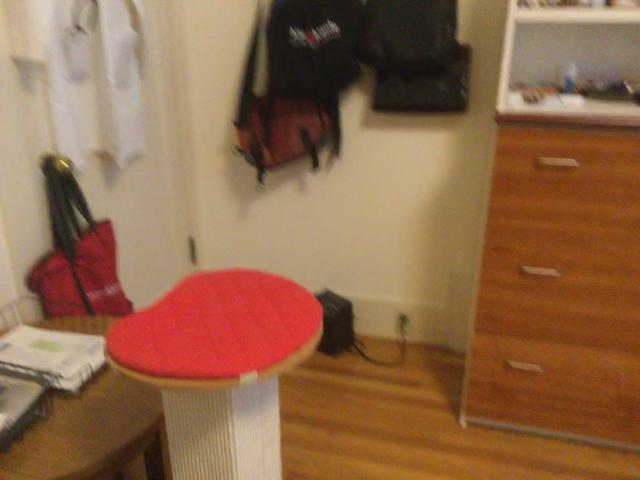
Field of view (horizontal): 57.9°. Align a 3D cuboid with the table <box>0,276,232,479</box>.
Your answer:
[{"bbox_3d":[-0.600,0.530,1.300,0.590,0.610,0.600,9,24,14],"label":"table"}]
